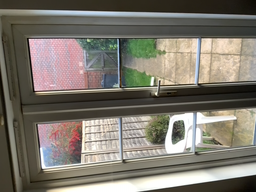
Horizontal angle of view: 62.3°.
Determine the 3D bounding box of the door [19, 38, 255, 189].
[{"bbox_3d":[0.330,0.100,1.680,0.060,2.080,1.070,-136,44,-73],"label":"door"}]
